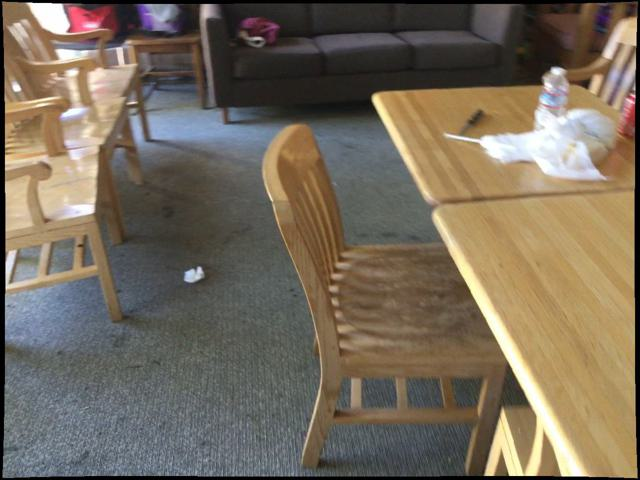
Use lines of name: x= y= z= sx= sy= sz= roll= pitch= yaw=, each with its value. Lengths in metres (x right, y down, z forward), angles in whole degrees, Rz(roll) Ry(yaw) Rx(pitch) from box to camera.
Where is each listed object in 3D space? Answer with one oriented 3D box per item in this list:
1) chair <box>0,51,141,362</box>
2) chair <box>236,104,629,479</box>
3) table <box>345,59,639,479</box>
chair: x=-1.049 y=-0.120 z=1.980 sx=0.639 sy=0.801 sz=0.670 roll=-7 pitch=35 yaw=-7
chair: x=0.190 y=0.170 z=1.500 sx=0.699 sy=0.801 sz=0.590 roll=-7 pitch=35 yaw=-7
table: x=0.639 y=0.160 z=1.550 sx=0.839 sy=0.751 sz=1.550 roll=-7 pitch=35 yaw=-7
